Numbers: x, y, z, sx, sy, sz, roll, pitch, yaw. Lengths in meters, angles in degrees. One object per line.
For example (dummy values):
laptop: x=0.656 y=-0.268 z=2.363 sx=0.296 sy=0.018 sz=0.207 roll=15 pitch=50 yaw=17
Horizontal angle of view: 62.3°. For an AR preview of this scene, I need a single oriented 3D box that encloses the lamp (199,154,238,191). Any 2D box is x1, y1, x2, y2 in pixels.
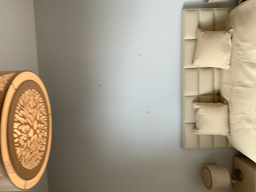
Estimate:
lamp: x=1.050 y=0.900 z=2.480 sx=0.190 sy=0.370 sz=0.370 roll=-113 pitch=20 yaw=-82
